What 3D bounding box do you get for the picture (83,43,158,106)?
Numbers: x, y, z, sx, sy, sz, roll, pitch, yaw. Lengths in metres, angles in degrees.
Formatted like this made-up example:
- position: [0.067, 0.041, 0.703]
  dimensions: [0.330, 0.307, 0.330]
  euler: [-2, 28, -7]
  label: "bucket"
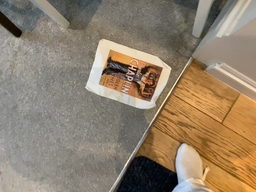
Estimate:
- position: [-0.030, -0.080, 0.810]
  dimensions: [0.280, 0.020, 0.230]
  euler: [-1, 90, 2]
  label: "picture"
